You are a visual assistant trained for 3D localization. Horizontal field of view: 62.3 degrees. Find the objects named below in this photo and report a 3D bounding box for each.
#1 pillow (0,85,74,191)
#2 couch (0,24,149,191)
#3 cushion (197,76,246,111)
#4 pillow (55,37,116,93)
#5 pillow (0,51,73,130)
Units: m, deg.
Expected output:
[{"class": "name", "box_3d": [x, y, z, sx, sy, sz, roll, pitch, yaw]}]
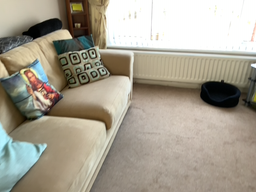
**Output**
[{"class": "pillow", "box_3d": [-0.700, 0.290, 1.110, 0.260, 0.490, 0.610, -56, -7, 33]}, {"class": "couch", "box_3d": [-0.590, 0.120, 1.650, 1.150, 0.870, 2.530, 6, 29, 11]}, {"class": "cushion", "box_3d": [1.140, -0.050, 2.670, 0.490, 0.190, 0.490, 7, 29, 13]}, {"class": "pillow", "box_3d": [-0.440, -0.320, 2.220, 0.480, 0.370, 0.190, -32, 13, -17]}, {"class": "pillow", "box_3d": [-0.750, -0.070, 1.690, 0.230, 0.400, 0.540, -17, 20, 22]}]
